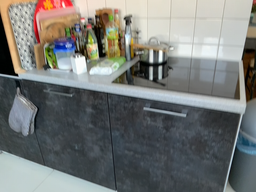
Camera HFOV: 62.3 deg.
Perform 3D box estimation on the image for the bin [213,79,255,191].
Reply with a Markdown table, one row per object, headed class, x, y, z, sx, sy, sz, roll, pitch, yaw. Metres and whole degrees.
| class | x | y | z | sx | sy | sz | roll | pitch | yaw |
| --- | --- | --- | --- | --- | --- | --- | --- | --- | --- |
| bin | 0.840 | 0.310 | 1.360 | 0.430 | 0.680 | 0.410 | 10 | 30 | 22 |
